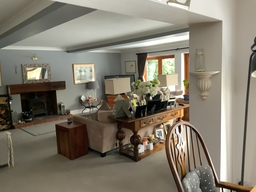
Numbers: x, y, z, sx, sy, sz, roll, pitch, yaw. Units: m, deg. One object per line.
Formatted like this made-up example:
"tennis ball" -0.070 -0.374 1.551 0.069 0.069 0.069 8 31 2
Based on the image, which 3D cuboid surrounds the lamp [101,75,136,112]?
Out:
"lamp" -0.160 -0.060 3.720 0.520 0.580 0.300 -10 10 -41
